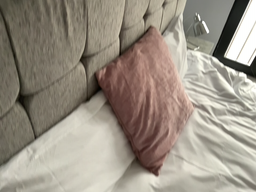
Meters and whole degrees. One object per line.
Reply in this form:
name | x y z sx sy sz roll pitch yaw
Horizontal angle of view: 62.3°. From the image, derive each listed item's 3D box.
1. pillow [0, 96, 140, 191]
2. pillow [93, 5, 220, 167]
pillow | -0.170 0.230 0.660 0.120 0.370 0.540 31 17 12
pillow | 0.150 -0.030 0.980 0.140 0.530 0.610 34 9 11
